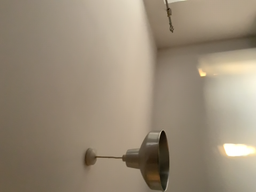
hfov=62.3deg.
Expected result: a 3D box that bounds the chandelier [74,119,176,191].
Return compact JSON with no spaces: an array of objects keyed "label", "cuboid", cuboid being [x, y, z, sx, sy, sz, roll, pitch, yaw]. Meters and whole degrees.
[{"label":"chandelier","cuboid":[0.020,0.320,1.080,0.360,0.390,0.300,52,40,-59]}]
